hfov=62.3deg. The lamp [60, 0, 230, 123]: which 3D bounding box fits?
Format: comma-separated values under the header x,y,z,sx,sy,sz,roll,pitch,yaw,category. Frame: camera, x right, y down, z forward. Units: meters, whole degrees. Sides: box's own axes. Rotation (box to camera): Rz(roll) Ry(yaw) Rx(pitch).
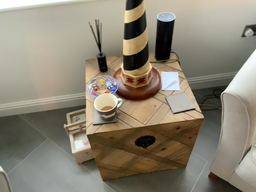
x,y,z,sx,sy,sz,roll,pitch,yaw,category
0.030,-0.320,0.750,0.440,0.790,0.400,-7,49,-4,lamp
